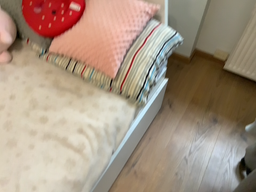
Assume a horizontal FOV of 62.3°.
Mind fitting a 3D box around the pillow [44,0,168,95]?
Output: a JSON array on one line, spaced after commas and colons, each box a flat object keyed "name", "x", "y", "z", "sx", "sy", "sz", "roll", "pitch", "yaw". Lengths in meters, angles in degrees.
[{"name": "pillow", "x": -0.070, "y": -0.260, "z": 0.900, "sx": 0.320, "sy": 0.210, "sz": 0.380, "roll": 25, "pitch": 52, "yaw": 17}]
